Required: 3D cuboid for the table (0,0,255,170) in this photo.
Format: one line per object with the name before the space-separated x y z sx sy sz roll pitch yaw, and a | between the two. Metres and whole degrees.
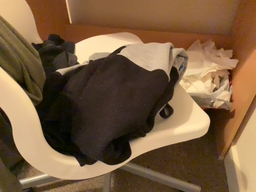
table | 0.040 -0.190 0.800 0.790 0.760 0.450 7 42 8
